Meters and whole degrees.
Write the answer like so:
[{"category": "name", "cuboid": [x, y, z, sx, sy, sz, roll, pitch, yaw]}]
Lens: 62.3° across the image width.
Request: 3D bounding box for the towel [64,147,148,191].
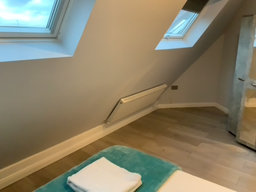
[{"category": "towel", "cuboid": [-0.150, 0.540, 1.530, 0.430, 0.060, 0.420, 12, 19, 35]}]
